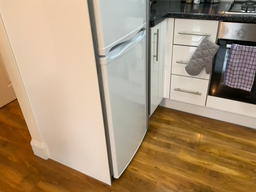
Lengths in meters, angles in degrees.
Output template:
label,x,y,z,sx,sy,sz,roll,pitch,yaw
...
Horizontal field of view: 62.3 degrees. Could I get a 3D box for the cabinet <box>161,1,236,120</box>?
label,x,y,z,sx,sy,sz,roll,pitch,yaw
cabinet,0.640,-0.350,1.970,0.450,0.900,0.580,13,35,24
